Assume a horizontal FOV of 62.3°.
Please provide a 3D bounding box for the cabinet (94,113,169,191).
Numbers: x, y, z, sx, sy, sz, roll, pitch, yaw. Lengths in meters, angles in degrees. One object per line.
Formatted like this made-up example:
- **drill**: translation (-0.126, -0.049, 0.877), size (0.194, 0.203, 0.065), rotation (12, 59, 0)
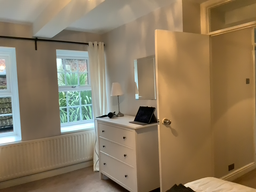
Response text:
- **cabinet**: translation (0.010, 0.780, 3.010), size (0.500, 0.940, 1.030), rotation (-5, 4, -35)
